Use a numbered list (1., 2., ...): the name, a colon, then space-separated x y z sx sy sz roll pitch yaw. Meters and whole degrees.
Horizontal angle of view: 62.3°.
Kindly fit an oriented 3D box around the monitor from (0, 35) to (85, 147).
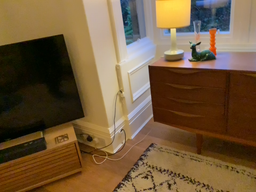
1. monitor: -1.000 0.040 1.570 1.220 0.750 0.060 -16 26 -17
